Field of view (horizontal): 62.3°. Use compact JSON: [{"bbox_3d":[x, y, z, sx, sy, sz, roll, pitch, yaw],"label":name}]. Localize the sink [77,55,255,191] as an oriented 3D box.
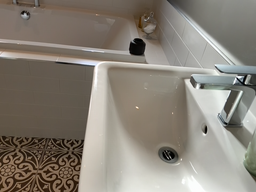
[{"bbox_3d":[0.110,0.100,0.570,0.430,0.150,0.570,4,35,-8],"label":"sink"}]
